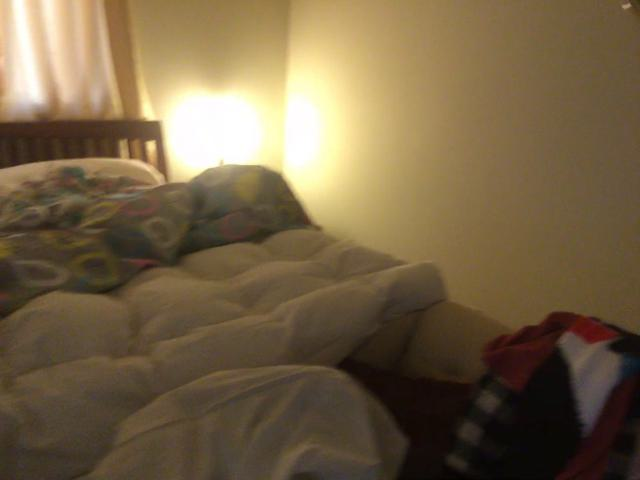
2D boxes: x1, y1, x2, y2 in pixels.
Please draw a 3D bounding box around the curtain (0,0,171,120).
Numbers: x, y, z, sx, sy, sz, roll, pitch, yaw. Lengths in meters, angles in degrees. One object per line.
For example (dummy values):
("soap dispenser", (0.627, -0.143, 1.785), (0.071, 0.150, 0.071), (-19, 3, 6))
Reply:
("curtain", (-1.570, -0.860, 2.630), (1.750, 0.610, 0.210), (-11, 19, -35))
